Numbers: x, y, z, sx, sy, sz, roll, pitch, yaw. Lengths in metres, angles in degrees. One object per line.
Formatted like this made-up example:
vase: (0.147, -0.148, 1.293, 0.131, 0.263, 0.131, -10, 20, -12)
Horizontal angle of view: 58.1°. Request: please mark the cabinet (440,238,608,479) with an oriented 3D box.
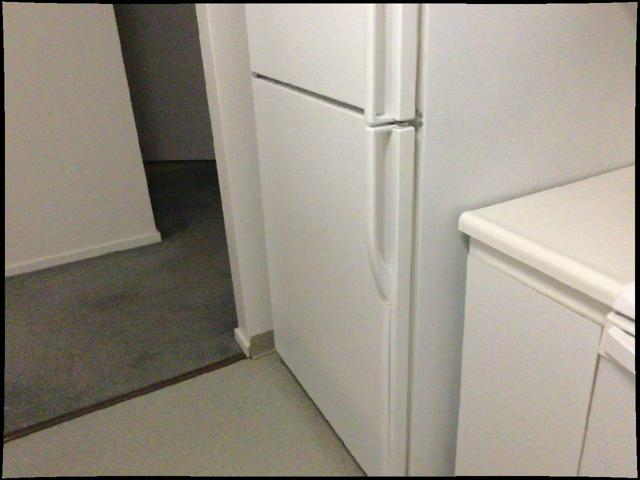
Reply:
cabinet: (0.419, 0.421, 1.310, 0.060, 0.782, 0.380, -17, 28, -23)
